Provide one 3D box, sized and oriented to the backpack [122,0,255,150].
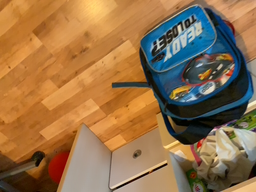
[{"bbox_3d":[0.240,-0.110,0.780,0.350,0.310,0.400,-31,114,15],"label":"backpack"}]
